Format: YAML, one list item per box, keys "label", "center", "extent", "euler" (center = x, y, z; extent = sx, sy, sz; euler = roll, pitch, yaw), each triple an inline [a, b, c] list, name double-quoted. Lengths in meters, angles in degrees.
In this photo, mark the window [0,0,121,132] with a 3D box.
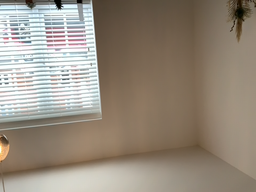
- label: "window"
  center: [-0.890, -0.360, 2.270]
  extent: [1.530, 1.380, 0.110]
  euler: [-5, -173, -10]
